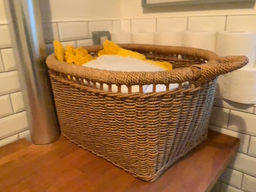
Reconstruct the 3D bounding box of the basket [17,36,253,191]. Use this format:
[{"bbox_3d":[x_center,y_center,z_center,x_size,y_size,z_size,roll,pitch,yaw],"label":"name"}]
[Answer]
[{"bbox_3d":[0.000,0.010,0.740,0.640,0.380,0.400,14,25,37],"label":"basket"}]
